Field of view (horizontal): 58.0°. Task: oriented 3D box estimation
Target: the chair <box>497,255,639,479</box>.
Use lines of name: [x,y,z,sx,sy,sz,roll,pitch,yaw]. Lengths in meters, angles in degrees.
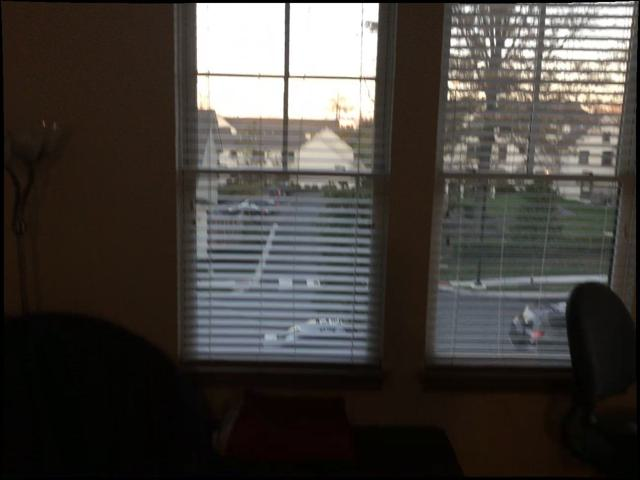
chair: [1.187,0.682,2.070,0.718,1.062,0.720,-4,16,-16]
